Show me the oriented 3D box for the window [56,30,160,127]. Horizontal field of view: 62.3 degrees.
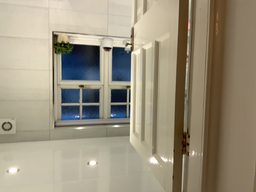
[{"bbox_3d":[-0.250,-0.190,2.600,1.180,1.030,0.370,0,-176,-16],"label":"window"}]
